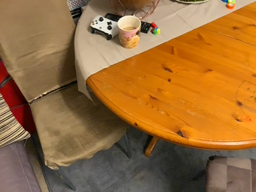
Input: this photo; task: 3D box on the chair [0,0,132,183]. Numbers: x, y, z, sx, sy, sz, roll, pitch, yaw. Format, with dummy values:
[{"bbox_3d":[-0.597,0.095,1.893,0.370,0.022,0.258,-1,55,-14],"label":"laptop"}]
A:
[{"bbox_3d":[-0.320,-0.010,1.130,0.410,0.960,0.570,-30,60,-16],"label":"chair"}]
